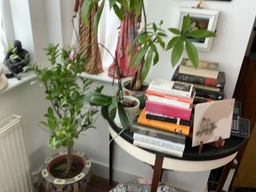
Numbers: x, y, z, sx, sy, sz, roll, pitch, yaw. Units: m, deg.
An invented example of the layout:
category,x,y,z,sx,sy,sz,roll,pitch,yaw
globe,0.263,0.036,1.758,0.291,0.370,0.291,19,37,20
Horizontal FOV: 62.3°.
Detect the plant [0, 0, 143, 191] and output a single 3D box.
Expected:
category,x,y,z,sx,sy,sz,roll,pitch,yaw
plant,-0.260,0.020,1.190,0.520,1.660,0.660,8,26,7
